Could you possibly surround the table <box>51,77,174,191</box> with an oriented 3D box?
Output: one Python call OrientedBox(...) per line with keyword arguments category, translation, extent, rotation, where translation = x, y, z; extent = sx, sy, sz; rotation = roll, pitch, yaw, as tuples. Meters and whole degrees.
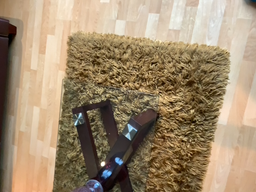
OrientedBox(category="table", translation=(-0.120, 0.440, 1.210), extent=(0.500, 0.300, 1.010), rotation=(14, 101, 21))
